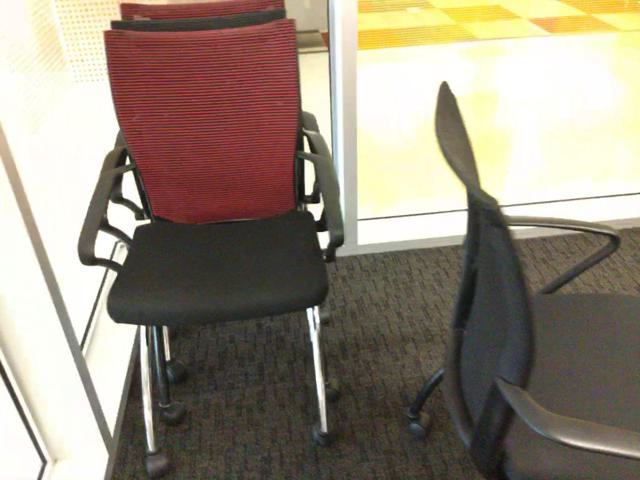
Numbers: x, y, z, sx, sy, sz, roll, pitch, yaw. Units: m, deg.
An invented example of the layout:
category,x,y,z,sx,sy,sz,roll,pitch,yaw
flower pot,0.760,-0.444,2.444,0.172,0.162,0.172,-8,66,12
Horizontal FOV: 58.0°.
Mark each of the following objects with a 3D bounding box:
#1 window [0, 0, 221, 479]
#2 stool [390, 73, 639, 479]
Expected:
category,x,y,z,sx,sy,sz,roll,pitch,yaw
window,-0.630,-0.050,0.670,0.380,1.900,2.890,-3,32,1
stool,0.430,0.240,1.070,0.570,0.920,0.590,0,32,5
